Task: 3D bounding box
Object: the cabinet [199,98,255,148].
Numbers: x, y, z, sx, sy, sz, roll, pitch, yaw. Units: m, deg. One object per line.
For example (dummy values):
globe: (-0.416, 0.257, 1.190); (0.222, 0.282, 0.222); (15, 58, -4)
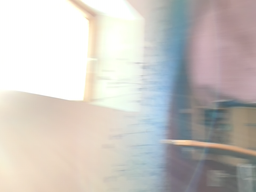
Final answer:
cabinet: (1.030, 0.260, 1.910); (0.430, 0.610, 0.380); (135, 139, -78)
